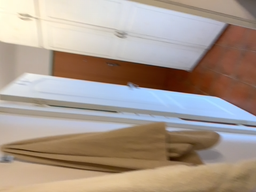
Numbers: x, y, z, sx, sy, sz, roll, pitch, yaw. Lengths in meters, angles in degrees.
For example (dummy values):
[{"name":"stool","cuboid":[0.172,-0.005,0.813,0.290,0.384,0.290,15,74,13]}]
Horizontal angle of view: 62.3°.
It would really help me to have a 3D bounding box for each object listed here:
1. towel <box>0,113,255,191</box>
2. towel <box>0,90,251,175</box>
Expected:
[{"name":"towel","cuboid":[0.110,0.300,0.770,0.310,1.200,0.250,-116,35,-66]},{"name":"towel","cuboid":[-0.050,0.180,0.990,0.230,1.210,0.220,-116,35,-66]}]
